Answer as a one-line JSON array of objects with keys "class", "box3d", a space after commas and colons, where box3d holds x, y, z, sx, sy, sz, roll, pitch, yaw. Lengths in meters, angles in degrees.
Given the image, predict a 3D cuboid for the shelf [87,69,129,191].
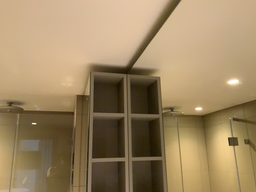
[{"class": "shelf", "box3d": [-0.130, 0.390, 1.280, 0.220, 1.080, 0.230, 2, -15, -12]}]
